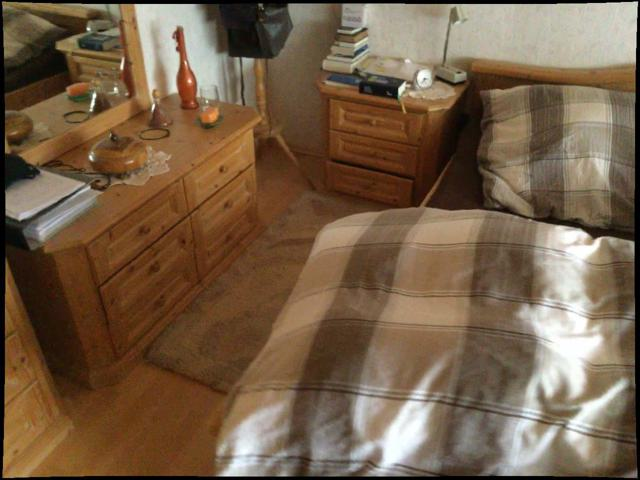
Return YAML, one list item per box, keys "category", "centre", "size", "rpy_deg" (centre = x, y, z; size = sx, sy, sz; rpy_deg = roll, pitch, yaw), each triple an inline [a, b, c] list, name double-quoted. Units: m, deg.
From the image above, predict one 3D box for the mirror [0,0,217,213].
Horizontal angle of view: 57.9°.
- category: "mirror"
  centre: [-0.819, -0.901, 1.760]
  size: [0.400, 1.311, 0.890]
  rpy_deg: [16, 40, 22]

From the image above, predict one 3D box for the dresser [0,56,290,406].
- category: "dresser"
  centre: [-0.639, -0.130, 2.160]
  size: [0.490, 0.670, 1.210]
  rpy_deg: [16, 40, 22]

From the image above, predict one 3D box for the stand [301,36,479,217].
- category: "stand"
  centre: [0.320, -0.551, 2.720]
  size: [0.650, 0.590, 0.470]
  rpy_deg: [16, 40, 22]
